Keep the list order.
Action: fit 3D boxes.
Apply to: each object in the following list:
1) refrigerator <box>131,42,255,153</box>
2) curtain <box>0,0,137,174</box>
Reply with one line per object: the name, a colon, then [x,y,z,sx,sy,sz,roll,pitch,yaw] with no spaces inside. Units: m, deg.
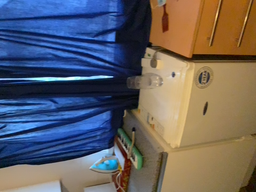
refrigerator: [0.530,-0.050,1.410,0.550,0.830,0.480,-131,43,-58]
curtain: [-0.480,-0.240,1.220,0.070,1.040,1.590,-130,42,-58]
